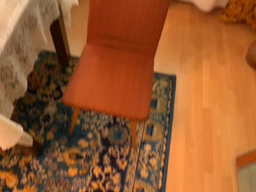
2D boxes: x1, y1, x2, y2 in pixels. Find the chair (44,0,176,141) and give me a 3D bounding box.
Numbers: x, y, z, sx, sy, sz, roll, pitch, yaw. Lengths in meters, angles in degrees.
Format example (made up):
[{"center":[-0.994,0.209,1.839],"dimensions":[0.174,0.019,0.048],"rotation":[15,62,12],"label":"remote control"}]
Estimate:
[{"center":[-0.070,-0.160,1.180],"dimensions":[0.430,0.770,0.530],"rotation":[12,61,-1],"label":"chair"}]
